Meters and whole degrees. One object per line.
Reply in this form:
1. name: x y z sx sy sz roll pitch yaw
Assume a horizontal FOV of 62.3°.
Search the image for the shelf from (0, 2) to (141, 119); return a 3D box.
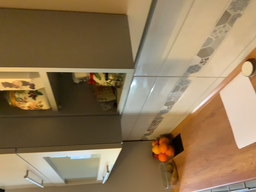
1. shelf: -0.360 -0.090 0.670 0.310 0.730 0.220 108 159 -60
